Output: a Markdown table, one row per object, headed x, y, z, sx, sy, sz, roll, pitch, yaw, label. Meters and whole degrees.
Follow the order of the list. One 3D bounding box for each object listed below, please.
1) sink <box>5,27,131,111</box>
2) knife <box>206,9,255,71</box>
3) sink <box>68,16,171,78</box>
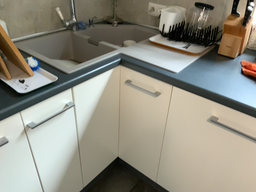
| x | y | z | sx | sy | sz | roll | pitch | yaw | label |
| --- | --- | --- | --- | --- | --- | --- | --- | --- | --- |
| -0.330 | -0.200 | 1.210 | 0.540 | 0.200 | 0.420 | 26 | 39 | 30 | sink |
| 0.600 | -0.320 | 1.170 | 0.180 | 0.240 | 0.270 | 25 | 39 | 30 | knife |
| -0.060 | -0.380 | 1.500 | 0.540 | 0.200 | 0.450 | 26 | 39 | 30 | sink |
